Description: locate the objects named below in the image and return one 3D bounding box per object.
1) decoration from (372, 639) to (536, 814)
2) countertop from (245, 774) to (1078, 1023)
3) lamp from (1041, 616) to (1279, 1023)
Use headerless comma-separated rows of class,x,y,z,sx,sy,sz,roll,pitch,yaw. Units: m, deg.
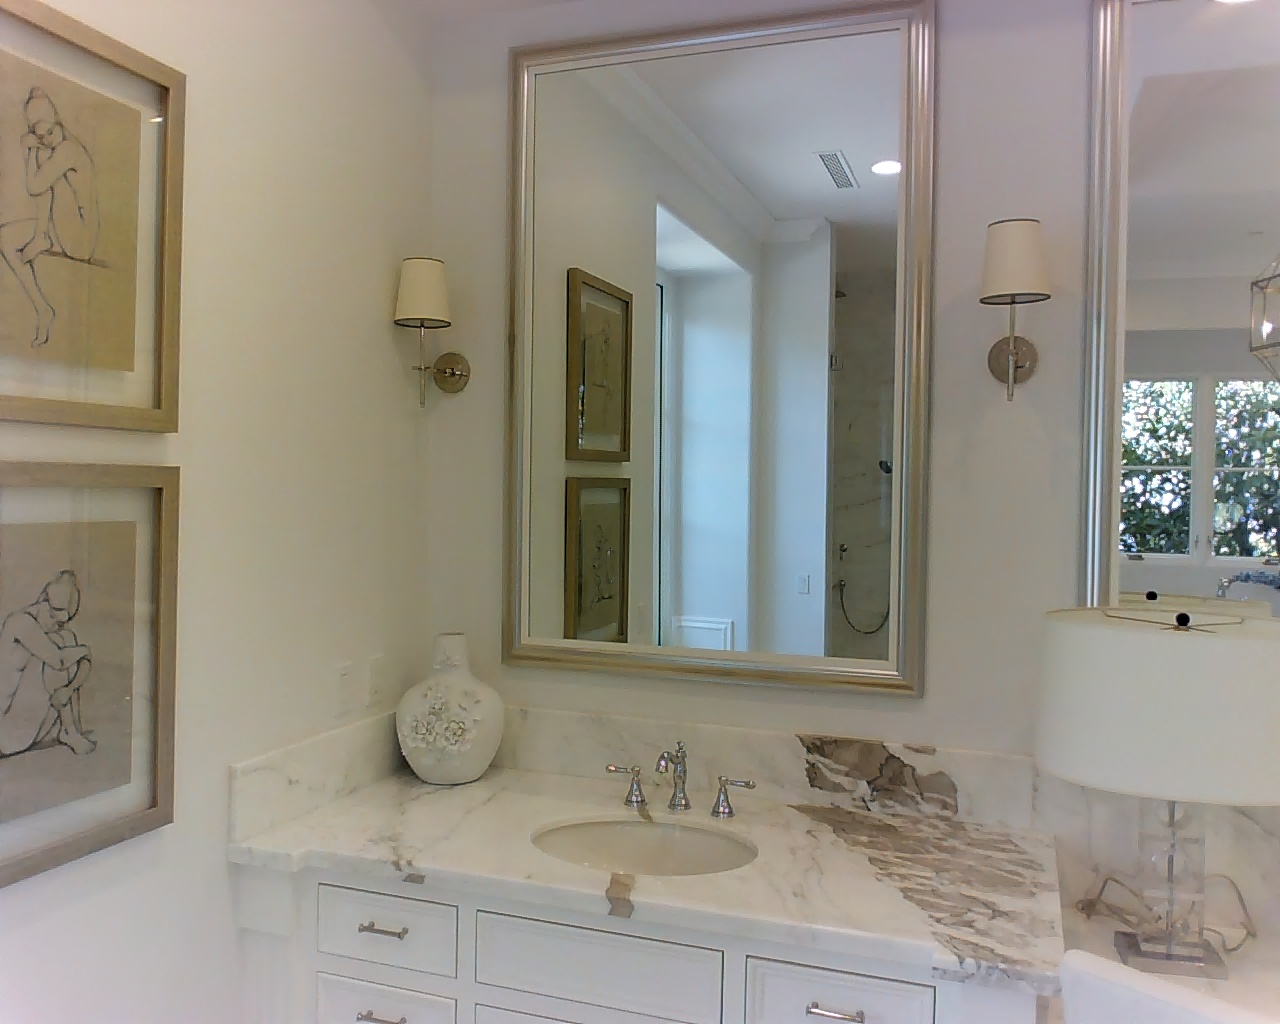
decoration,-0.450,0.510,2.630,0.280,0.350,0.300,1,0,21
countertop,0.060,0.770,2.210,1.530,0.150,0.730,1,0,20
lamp,1.020,0.550,2.000,0.500,0.660,0.330,1,0,20
